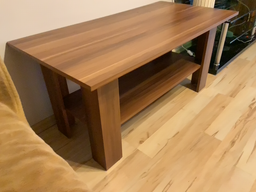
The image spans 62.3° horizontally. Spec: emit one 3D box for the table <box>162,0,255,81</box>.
[{"bbox_3d":[0.810,-0.600,1.920,0.460,0.460,1.000,27,43,35],"label":"table"}]
